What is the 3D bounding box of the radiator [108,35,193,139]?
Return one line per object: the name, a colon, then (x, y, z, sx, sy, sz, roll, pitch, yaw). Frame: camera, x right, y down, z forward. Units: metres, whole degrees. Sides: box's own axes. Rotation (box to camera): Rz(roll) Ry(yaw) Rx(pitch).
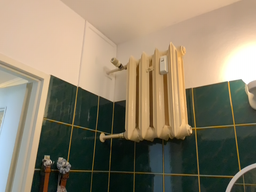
radiator: (0.140, -0.030, 1.380, 0.470, 0.570, 0.210, -9, -22, 31)
